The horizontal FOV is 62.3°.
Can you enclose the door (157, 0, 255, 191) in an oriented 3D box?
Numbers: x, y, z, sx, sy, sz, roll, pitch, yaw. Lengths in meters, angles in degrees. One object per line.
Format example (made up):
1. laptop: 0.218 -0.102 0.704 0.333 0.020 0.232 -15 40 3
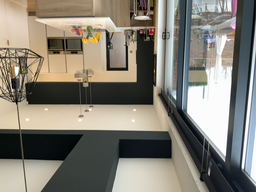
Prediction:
1. door: 0.680 -0.870 2.030 0.140 2.420 4.910 0 -169 1
